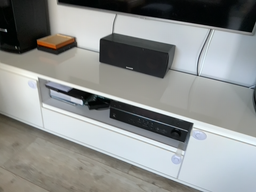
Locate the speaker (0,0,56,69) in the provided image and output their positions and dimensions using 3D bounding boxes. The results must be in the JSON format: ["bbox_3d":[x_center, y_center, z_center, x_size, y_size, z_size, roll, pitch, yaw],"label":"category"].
[{"bbox_3d":[-0.710,-0.680,1.320,0.200,0.900,0.450,16,32,15],"label":"speaker"}]
